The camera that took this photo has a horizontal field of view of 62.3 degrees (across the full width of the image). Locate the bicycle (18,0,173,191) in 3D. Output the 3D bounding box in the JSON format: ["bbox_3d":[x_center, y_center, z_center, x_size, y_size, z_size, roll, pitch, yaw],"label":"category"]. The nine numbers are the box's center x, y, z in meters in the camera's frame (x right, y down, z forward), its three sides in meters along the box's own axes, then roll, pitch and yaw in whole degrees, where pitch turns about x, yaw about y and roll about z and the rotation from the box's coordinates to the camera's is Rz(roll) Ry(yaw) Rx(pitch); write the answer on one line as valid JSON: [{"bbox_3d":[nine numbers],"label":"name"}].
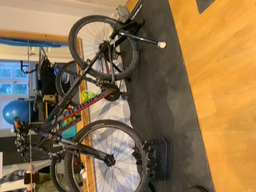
[{"bbox_3d":[-0.350,0.000,1.830,0.530,1.030,1.770,-33,62,60],"label":"bicycle"}]
